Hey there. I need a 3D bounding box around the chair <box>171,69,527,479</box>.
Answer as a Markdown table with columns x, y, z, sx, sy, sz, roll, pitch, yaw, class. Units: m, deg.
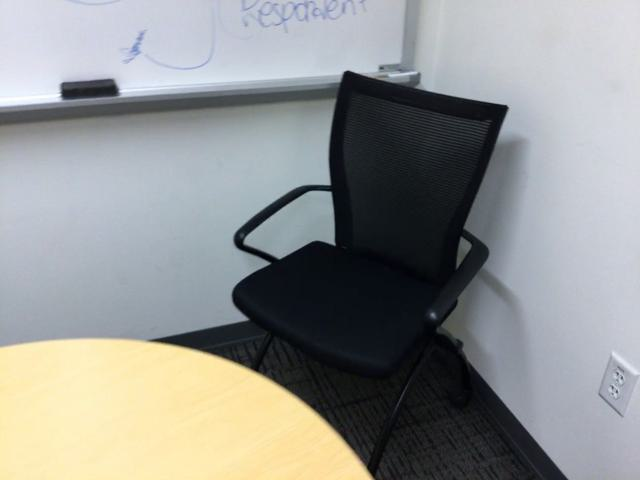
| x | y | z | sx | sy | sz | roll | pitch | yaw | class |
| --- | --- | --- | --- | --- | --- | --- | --- | --- | --- |
| 0.070 | 0.080 | 1.520 | 0.540 | 0.860 | 0.620 | 25 | 36 | 35 | chair |
